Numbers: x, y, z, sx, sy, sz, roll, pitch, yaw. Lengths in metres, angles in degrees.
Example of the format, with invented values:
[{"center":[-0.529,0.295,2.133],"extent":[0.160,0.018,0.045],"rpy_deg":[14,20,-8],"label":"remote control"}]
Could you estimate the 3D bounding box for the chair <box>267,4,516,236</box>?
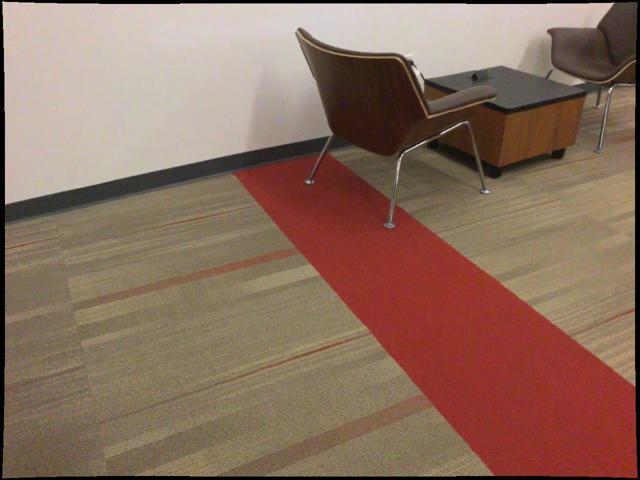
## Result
[{"center":[0.309,-0.642,2.820],"extent":[0.759,0.761,0.850],"rpy_deg":[-21,37,-28],"label":"chair"}]
